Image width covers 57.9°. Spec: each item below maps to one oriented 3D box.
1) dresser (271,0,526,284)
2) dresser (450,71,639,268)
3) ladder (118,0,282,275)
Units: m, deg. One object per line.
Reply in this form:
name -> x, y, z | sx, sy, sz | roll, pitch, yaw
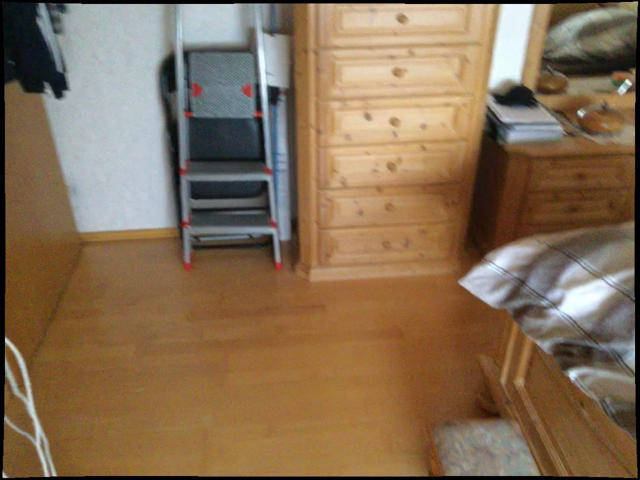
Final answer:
dresser -> 0.250, -0.581, 2.290 | 0.819, 1.421, 0.540 | -3, 34, -2
dresser -> 1.269, -0.330, 2.560 | 1.209, 0.670, 0.490 | -4, 34, -2
ladder -> -0.430, -0.521, 2.350 | 0.460, 1.281, 0.450 | -3, 34, -2
